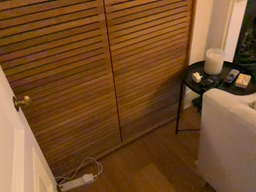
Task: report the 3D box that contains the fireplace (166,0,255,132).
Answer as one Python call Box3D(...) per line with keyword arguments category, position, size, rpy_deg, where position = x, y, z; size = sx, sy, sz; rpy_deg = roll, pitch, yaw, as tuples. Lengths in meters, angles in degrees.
Box3D(category="fireplace", position=(1.190, -0.620, 1.870), size=(1.630, 1.170, 0.590), rpy_deg=(-24, 42, -24))
